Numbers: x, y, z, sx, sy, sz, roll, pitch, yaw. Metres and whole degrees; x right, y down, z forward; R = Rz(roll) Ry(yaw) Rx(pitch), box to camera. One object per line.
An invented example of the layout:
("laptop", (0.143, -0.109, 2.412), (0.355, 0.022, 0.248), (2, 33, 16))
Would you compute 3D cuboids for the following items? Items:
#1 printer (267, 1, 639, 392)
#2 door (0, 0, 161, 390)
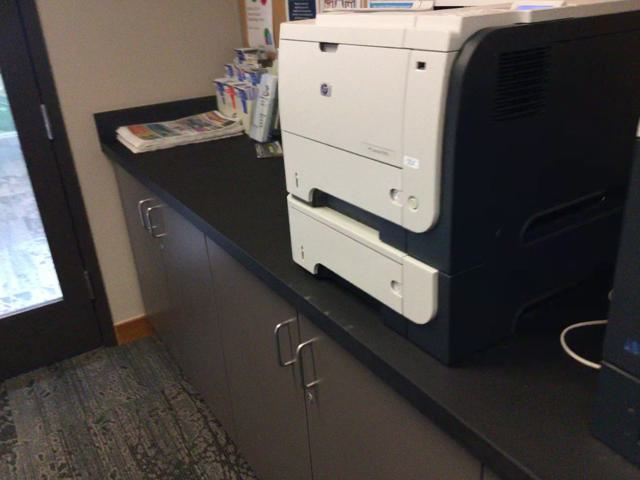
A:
("printer", (0.280, -0.150, 0.970), (0.560, 0.450, 0.490), (-13, 25, -25))
("door", (-1.230, -0.190, 1.960), (1.130, 1.520, 0.230), (-13, 25, -25))
